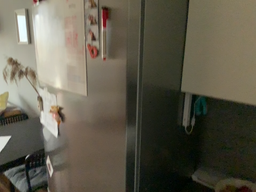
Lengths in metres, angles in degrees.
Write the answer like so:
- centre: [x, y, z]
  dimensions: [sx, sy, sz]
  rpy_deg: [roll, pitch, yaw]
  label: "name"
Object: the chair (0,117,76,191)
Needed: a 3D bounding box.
- centre: [-0.740, 0.660, 1.760]
  dimensions: [0.480, 0.810, 0.390]
  rpy_deg: [14, 19, 39]
  label: "chair"
